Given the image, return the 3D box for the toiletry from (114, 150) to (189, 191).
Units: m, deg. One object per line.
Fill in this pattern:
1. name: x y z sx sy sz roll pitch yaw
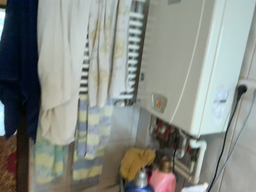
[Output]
1. toiletry: 0.090 0.420 0.940 0.250 0.280 0.170 1 14 -26
